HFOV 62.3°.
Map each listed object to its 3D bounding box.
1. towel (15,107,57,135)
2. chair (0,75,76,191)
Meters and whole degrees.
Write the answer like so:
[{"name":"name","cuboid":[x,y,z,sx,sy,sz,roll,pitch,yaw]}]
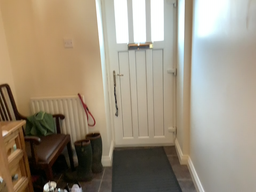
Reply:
[{"name":"towel","cuboid":[-0.950,0.260,2.220,0.340,0.250,0.150,-2,15,3]},{"name":"chair","cuboid":[-0.930,0.370,2.020,0.590,1.030,0.590,-2,15,4]}]
